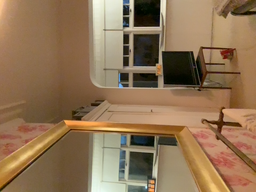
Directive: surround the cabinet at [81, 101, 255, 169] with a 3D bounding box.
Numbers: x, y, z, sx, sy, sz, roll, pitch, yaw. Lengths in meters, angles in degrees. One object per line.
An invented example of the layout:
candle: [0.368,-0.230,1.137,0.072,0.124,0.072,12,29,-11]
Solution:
cabinet: [0.550,0.400,2.790,1.330,1.980,0.460,-61,-29,-82]
